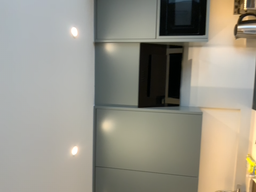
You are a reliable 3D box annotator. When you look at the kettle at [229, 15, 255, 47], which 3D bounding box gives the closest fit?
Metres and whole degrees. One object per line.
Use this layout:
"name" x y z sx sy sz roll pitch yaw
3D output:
"kettle" 1.100 -0.590 1.950 0.240 0.240 0.230 -26 -61 -78
